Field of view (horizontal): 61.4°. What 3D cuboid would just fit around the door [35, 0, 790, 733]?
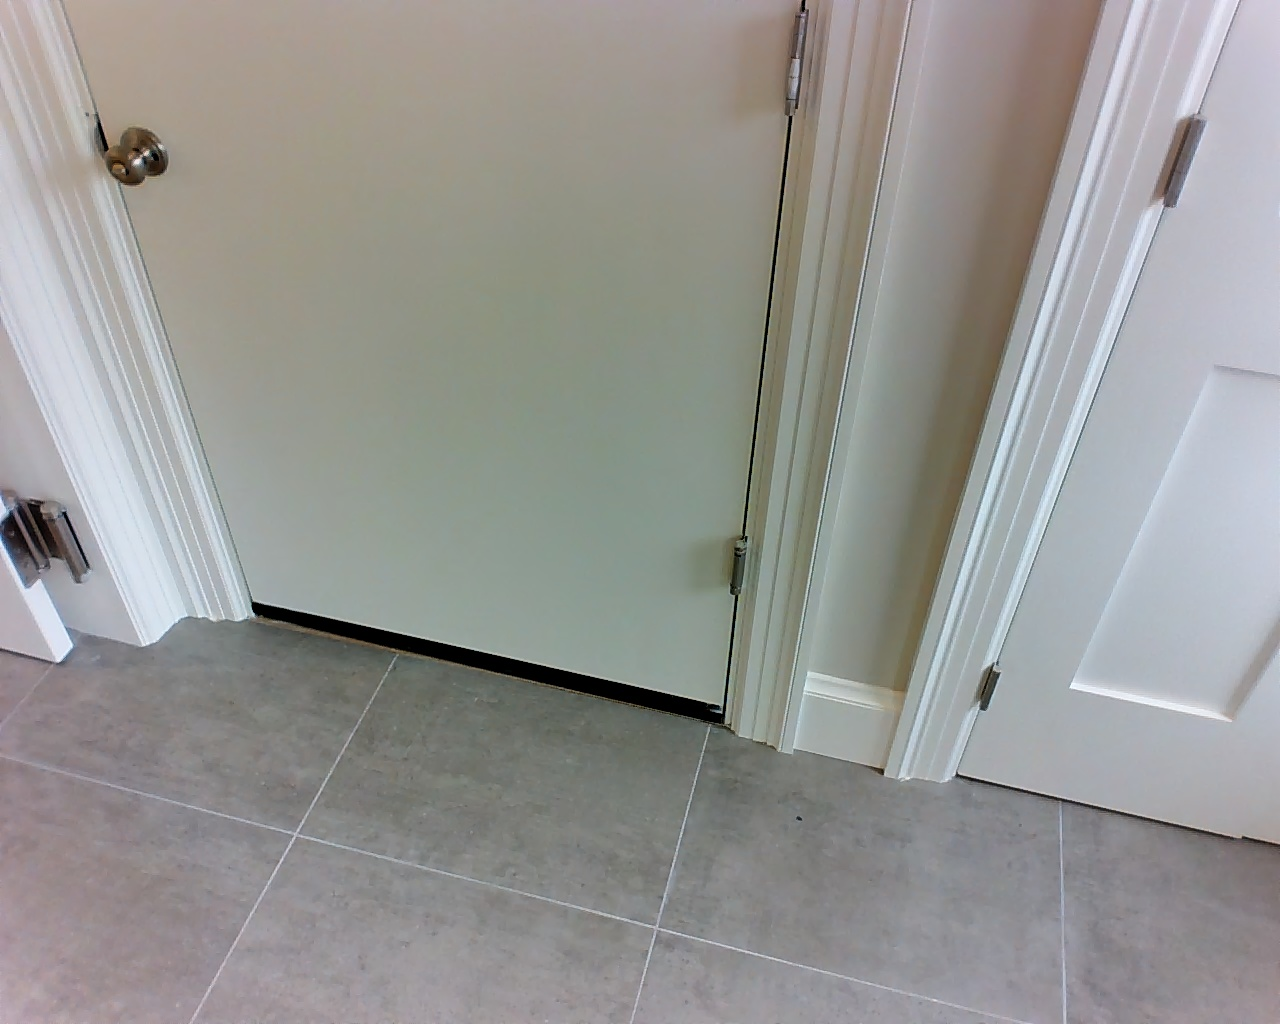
[{"bbox_3d":[-0.290,-0.510,1.280,0.910,2.170,0.040,10,43,10],"label":"door"}]
